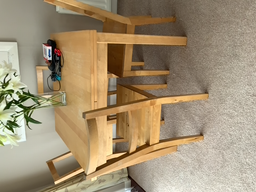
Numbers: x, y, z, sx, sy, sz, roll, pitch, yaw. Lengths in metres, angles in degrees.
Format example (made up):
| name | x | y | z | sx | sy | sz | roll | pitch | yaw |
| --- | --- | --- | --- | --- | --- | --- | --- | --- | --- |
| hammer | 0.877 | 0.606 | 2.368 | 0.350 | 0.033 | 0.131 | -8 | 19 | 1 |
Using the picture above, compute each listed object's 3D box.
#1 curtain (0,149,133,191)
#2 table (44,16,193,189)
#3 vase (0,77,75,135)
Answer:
| name | x | y | z | sx | sy | sz | roll | pitch | yaw |
| --- | --- | --- | --- | --- | --- | --- | --- | --- | --- |
| curtain | -1.080 | 0.960 | 1.920 | 0.520 | 2.350 | 0.220 | 18 | 112 | 56 |
| table | -0.150 | -0.060 | 1.750 | 0.990 | 0.770 | 0.960 | 20 | 113 | 56 |
| vase | -0.690 | 0.050 | 1.600 | 0.290 | 0.490 | 0.310 | 22 | 115 | 55 |
